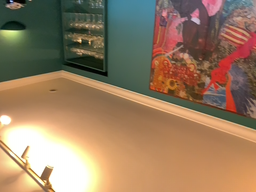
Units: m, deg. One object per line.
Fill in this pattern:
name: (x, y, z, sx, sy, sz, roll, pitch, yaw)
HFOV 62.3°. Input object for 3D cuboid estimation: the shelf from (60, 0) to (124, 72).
shelf: (-0.560, -1.590, 3.190, 0.940, 2.240, 0.460, 19, -153, 35)
